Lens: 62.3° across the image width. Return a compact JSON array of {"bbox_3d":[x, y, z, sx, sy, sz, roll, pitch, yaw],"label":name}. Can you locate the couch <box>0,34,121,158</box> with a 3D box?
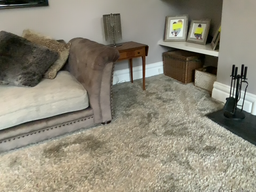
[{"bbox_3d":[-1.010,-0.080,2.010,1.560,0.730,1.020,-14,25,-22],"label":"couch"}]
